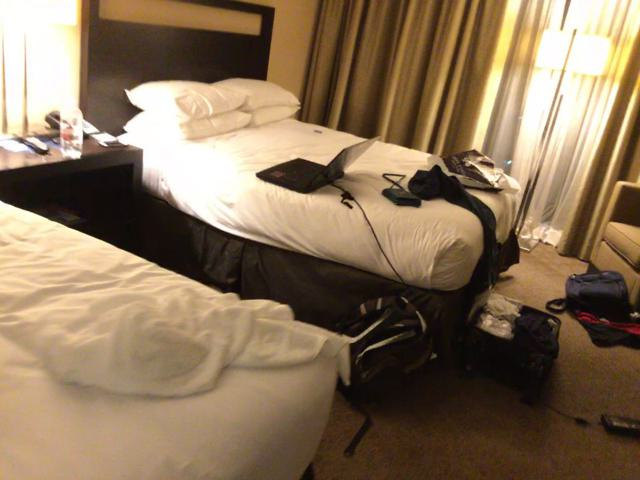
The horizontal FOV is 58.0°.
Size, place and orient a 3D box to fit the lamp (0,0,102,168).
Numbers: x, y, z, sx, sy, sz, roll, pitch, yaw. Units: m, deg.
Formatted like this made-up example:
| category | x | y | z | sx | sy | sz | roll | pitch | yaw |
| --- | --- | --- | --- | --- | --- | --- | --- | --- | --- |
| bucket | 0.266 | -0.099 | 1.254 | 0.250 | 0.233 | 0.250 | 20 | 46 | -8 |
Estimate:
| category | x | y | z | sx | sy | sz | roll | pitch | yaw |
| --- | --- | --- | --- | --- | --- | --- | --- | --- | --- |
| lamp | -1.220 | -1.020 | 2.380 | 0.270 | 1.370 | 0.560 | 19 | 22 | 24 |

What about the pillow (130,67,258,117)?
| category | x | y | z | sx | sy | sz | roll | pitch | yaw |
| --- | --- | --- | --- | --- | --- | --- | --- | --- | --- |
| pillow | -0.710 | -0.860 | 3.330 | 0.390 | 0.190 | 0.630 | 19 | 22 | 24 |
